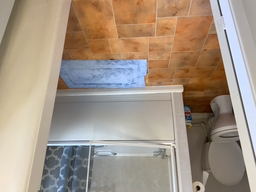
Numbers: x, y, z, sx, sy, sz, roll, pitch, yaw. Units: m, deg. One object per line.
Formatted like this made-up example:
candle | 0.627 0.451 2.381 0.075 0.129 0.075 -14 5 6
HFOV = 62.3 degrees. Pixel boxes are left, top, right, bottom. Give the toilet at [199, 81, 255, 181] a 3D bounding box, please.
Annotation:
toilet | 1.050 0.390 2.170 0.390 0.870 0.630 -1 156 5
